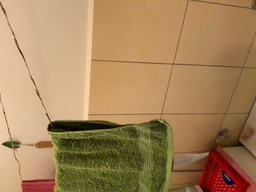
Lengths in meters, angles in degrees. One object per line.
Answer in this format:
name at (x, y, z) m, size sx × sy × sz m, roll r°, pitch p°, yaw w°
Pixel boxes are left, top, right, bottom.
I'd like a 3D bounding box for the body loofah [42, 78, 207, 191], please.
body loofah at (-0.040, 0.170, 0.650) m, size 0.240 × 0.370 × 0.370 m, roll -114°, pitch 28°, yaw -57°
